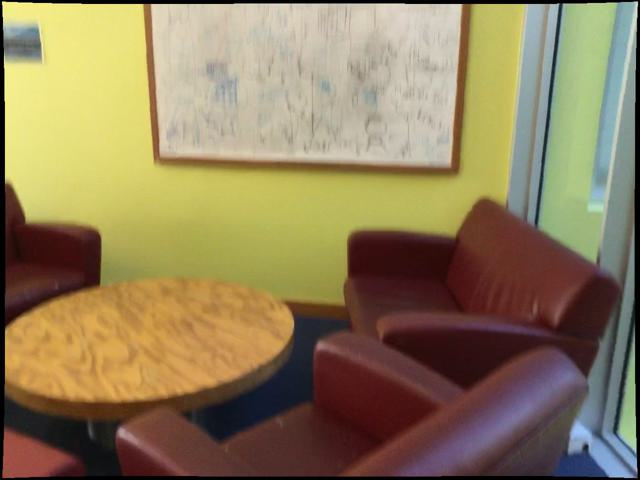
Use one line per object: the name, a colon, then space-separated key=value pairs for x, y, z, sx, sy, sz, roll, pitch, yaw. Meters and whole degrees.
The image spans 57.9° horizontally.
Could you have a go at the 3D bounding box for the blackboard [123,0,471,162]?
blackboard: x=-0.110 y=-1.011 z=3.170 sx=1.808 sy=1.191 sz=0.120 roll=0 pitch=37 yaw=13

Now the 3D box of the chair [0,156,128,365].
chair: x=-1.738 y=0.080 z=3.080 sx=0.809 sy=0.731 sz=0.860 roll=1 pitch=28 yaw=34

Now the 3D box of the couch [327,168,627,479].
couch: x=0.539 y=0.320 z=2.680 sx=0.849 sy=0.781 sz=1.340 roll=-2 pitch=33 yaw=-5

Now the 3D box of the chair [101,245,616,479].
chair: x=0.060 y=0.621 z=1.470 sx=0.840 sy=0.781 sz=0.810 roll=-19 pitch=36 yaw=-41
